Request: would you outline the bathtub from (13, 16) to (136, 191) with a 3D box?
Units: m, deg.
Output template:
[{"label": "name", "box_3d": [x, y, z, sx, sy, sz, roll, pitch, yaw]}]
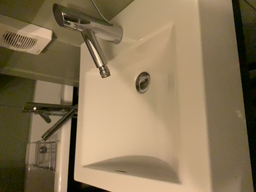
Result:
[{"label": "bathtub", "box_3d": [-0.450, 0.440, 1.750, 0.770, 0.690, 1.790, -17, 69, 50]}]

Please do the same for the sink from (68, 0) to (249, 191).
[{"label": "sink", "box_3d": [0.010, 0.010, 0.590, 0.510, 0.130, 0.470, -17, 69, 50]}]
